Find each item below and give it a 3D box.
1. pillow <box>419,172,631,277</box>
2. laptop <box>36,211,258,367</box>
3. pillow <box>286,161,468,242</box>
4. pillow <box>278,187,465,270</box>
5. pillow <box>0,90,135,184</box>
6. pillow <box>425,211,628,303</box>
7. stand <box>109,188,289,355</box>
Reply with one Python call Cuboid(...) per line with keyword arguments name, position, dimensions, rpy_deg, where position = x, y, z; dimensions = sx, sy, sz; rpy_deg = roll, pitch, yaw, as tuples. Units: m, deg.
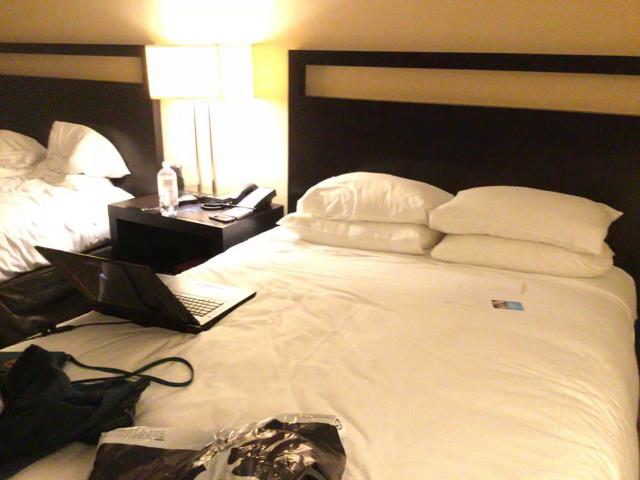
Cuboid(name="pillow", position=(0.730, -0.080, 2.070), dimensions=(0.620, 0.200, 0.390), rpy_deg=(12, 19, 31))
Cuboid(name="laptop", position=(-0.490, 0.110, 1.700), dimensions=(0.440, 0.250, 0.430), rpy_deg=(12, 19, 31))
Cuboid(name="pillow", position=(0.230, -0.180, 2.380), dimensions=(0.630, 0.180, 0.380), rpy_deg=(12, 19, 31))
Cuboid(name="pillow", position=(0.210, -0.070, 2.400), dimensions=(0.660, 0.160, 0.390), rpy_deg=(12, 19, 31))
Cuboid(name="pillow", position=(-1.470, -0.620, 3.360), dimensions=(0.780, 0.450, 0.300), rpy_deg=(12, 19, 31))
Cuboid(name="pillow", position=(0.700, 0.040, 2.000), dimensions=(0.610, 0.150, 0.230), rpy_deg=(12, 19, 31))
Cuboid(name="stand", position=(-0.620, 0.120, 3.000), dimensions=(0.760, 0.610, 0.490), rpy_deg=(12, 19, 31))
